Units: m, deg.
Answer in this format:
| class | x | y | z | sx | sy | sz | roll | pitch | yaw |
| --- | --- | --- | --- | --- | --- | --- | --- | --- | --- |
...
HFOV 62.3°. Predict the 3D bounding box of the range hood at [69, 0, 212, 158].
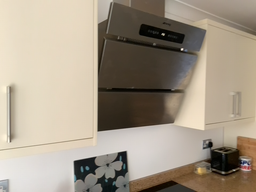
| class | x | y | z | sx | sy | sz | roll | pitch | yaw |
| --- | --- | --- | --- | --- | --- | --- | --- | --- | --- |
| range hood | 0.090 | -0.230 | 1.350 | 0.770 | 1.000 | 0.480 | 0 | 1 | -36 |
